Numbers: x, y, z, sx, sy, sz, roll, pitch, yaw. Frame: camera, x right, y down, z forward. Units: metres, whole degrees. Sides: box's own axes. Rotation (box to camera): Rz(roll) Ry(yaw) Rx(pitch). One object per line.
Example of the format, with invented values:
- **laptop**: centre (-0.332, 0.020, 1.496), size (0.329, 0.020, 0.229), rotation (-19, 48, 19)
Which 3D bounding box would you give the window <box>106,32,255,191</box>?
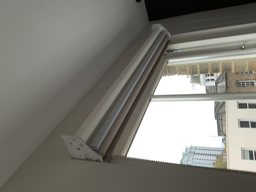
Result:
- **window**: centre (0.690, -0.070, 0.940), size (1.090, 1.300, 0.050), rotation (-61, -39, -48)
